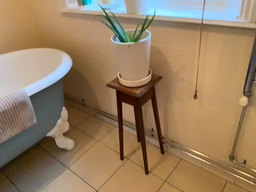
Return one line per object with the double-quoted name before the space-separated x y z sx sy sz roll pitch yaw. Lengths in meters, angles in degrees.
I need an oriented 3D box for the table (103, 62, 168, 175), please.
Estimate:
"table" 0.070 0.150 1.330 0.260 0.630 0.250 18 41 32
